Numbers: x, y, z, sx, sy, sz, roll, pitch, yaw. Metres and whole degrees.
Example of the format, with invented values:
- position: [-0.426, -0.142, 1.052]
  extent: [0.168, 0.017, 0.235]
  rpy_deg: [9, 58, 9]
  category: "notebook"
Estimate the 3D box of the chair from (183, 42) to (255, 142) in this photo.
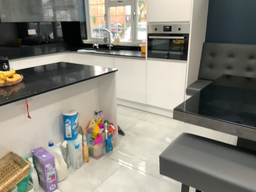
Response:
- position: [1.910, 0.000, 2.400]
  extent: [2.370, 1.070, 0.610]
  rpy_deg: [12, 23, 34]
  category: "chair"

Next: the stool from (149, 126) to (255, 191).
- position: [0.740, 0.660, 1.330]
  extent: [1.150, 0.560, 0.410]
  rpy_deg: [11, 22, 32]
  category: "stool"
